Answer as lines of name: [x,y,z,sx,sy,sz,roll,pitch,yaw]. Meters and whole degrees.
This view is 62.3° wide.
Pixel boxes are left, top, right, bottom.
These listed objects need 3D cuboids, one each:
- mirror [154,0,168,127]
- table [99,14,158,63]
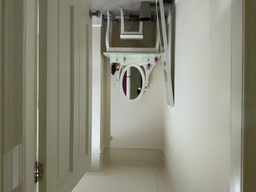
mirror: [0.480,-0.470,3.120,0.130,1.780,0.420,0,-172,3]
table: [0.010,-1.020,3.910,1.010,0.760,0.530,0,180,3]
